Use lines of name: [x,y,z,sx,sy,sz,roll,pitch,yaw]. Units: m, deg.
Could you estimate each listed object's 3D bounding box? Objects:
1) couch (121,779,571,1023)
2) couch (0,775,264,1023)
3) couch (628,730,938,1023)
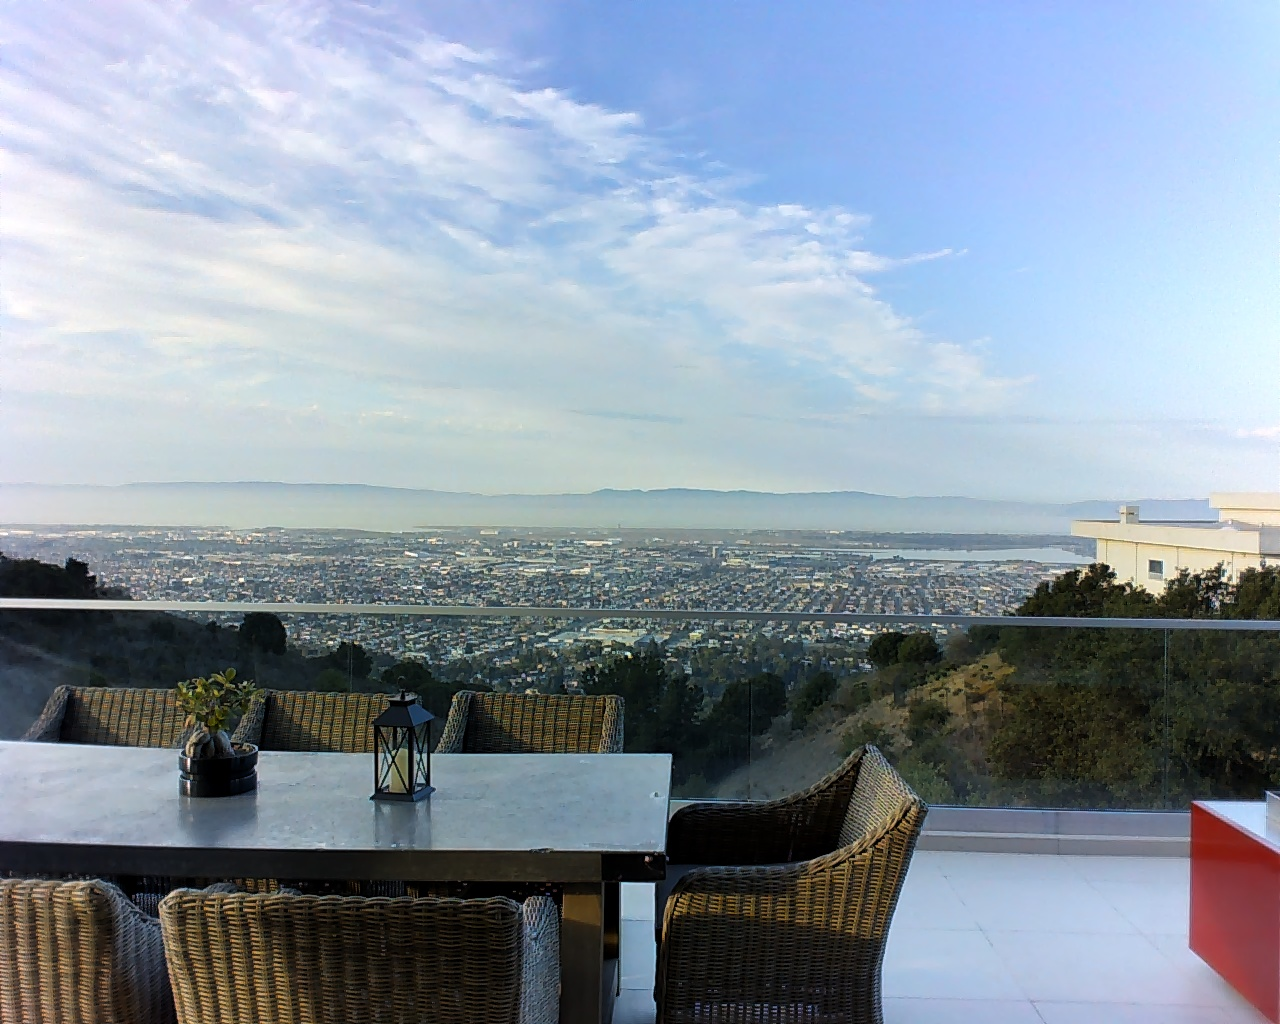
couch: [-0.570,1.100,2.320,0.750,0.850,0.700,1,0,3]
couch: [-1.340,1.100,2.380,0.740,0.850,0.680,1,0,4]
couch: [0.370,1.120,3.040,0.760,0.840,0.730,1,0,3]
